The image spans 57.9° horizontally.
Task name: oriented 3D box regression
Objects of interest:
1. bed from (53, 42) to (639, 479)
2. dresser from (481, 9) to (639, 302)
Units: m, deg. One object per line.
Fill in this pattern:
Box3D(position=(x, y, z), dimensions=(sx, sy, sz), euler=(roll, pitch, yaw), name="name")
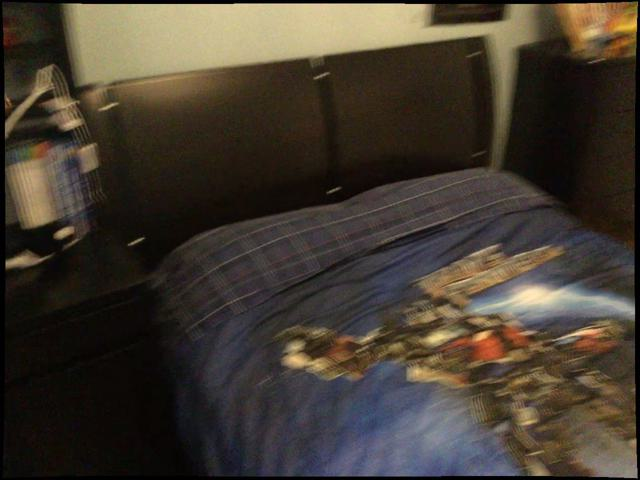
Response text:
Box3D(position=(0.529, 0.270, 1.250), dimensions=(1.549, 0.881, 2.160), euler=(-17, 32, -26), name="bed")
Box3D(position=(1.269, -0.410, 2.540), dimensions=(0.909, 1.021, 0.480), euler=(-18, 33, -28), name="dresser")
